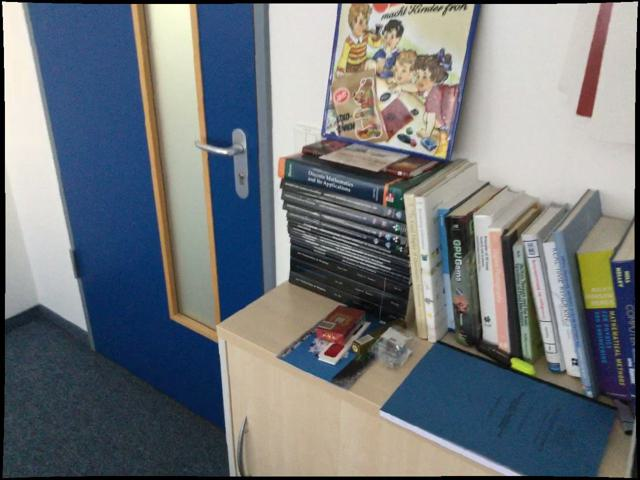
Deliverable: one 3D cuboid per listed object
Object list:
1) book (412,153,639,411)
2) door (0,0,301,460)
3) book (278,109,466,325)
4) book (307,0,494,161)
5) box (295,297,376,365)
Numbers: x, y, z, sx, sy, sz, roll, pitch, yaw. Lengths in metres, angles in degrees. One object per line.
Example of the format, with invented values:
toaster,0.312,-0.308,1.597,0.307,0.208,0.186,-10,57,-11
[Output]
book,0.499,0.080,0.940,0.640,0.270,0.230,18,33,31
door,-0.519,-0.350,1.670,0.999,2.022,0.140,18,33,31
book,0.100,-0.060,1.170,0.290,0.320,0.210,18,33,31
book,0.140,-0.380,1.090,0.330,0.390,0.100,18,33,31
box,0.030,0.160,1.040,0.080,0.030,0.140,18,33,31
